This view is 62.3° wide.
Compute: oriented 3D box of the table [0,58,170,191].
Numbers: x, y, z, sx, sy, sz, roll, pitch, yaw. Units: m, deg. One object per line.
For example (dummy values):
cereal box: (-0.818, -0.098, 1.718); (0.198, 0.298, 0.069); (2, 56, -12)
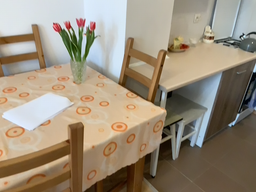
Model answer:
table: (-0.680, 0.410, 1.270); (1.500, 0.760, 1.010); (-20, 37, -37)

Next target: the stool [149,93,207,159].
stool: (0.460, 0.270, 2.010); (0.320, 0.430, 0.340); (-18, 36, -35)

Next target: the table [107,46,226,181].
table: (0.280, 0.090, 1.870); (0.680, 0.840, 0.610); (-18, 36, -35)
